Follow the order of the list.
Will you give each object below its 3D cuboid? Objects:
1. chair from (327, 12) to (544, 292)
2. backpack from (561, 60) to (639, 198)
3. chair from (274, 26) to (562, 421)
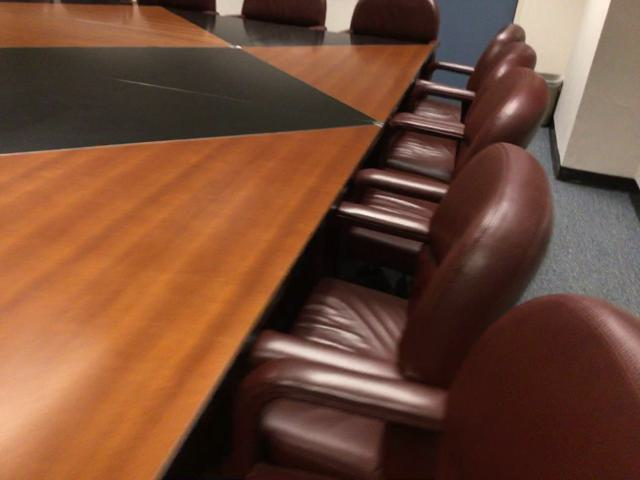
[{"bbox_3d":[0.470,-0.390,2.410,0.650,0.900,0.600,14,32,14],"label":"chair"},{"bbox_3d":[1.630,-0.620,3.210,0.380,0.610,0.370,14,32,14],"label":"backpack"},{"bbox_3d":[0.300,-0.090,1.870,0.650,0.960,0.670,14,32,14],"label":"chair"}]
